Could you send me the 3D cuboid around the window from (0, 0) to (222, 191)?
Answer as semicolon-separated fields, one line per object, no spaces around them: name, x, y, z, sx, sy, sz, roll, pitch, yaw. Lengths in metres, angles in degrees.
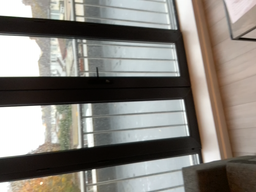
window;-0.220;0.040;1.850;0.190;2.170;2.940;146;124;-66
